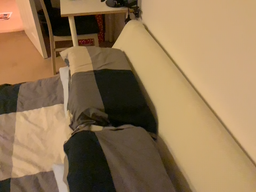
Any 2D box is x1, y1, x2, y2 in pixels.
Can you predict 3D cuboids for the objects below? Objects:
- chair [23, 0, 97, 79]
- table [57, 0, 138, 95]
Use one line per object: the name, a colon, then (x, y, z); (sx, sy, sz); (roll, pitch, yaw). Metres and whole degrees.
chair: (-0.590, -0.740, 1.930); (0.510, 1.060, 0.450); (-6, 42, -10)
table: (-0.340, -0.630, 2.080); (0.570, 0.720, 0.960); (-8, 42, -12)
